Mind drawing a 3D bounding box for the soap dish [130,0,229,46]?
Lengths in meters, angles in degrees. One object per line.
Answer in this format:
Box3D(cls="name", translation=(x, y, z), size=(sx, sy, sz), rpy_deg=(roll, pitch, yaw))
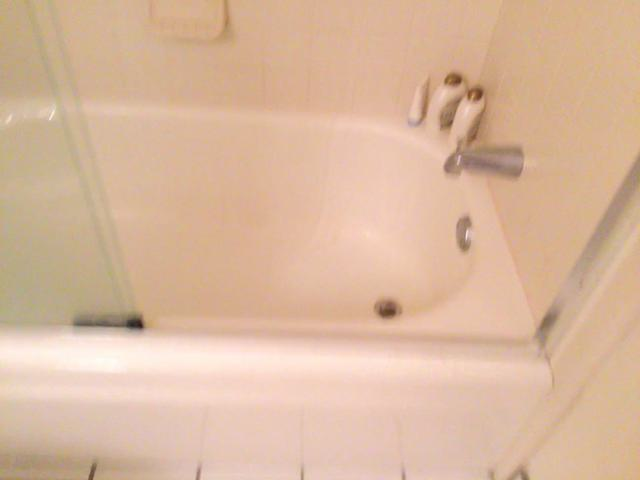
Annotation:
Box3D(cls="soap dish", translation=(-0.290, -0.490, 1.200), size=(0.180, 0.140, 0.080), rpy_deg=(1, 44, -2))
